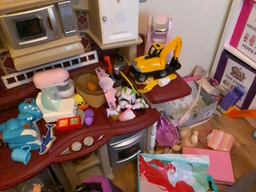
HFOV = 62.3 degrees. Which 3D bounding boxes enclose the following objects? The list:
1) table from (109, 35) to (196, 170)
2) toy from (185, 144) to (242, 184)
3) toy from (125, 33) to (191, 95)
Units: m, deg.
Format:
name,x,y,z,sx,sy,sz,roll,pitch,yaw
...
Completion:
name,x,y,z,sx,sy,sz,roll,pitch,yaw
table,0.090,0.040,1.190,0.180,0.550,0.490,-20,48,-18
toy,0.470,0.380,1.200,0.270,0.080,0.170,5,45,6
toy,0.120,-0.140,0.910,0.230,0.170,0.130,-18,47,-17
